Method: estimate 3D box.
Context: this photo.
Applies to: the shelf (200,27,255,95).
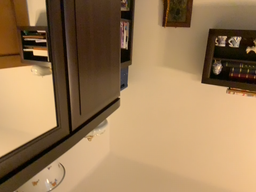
[{"bbox_3d":[1.270,-0.210,1.520,1.350,0.460,0.280,11,-160,22],"label":"shelf"}]
